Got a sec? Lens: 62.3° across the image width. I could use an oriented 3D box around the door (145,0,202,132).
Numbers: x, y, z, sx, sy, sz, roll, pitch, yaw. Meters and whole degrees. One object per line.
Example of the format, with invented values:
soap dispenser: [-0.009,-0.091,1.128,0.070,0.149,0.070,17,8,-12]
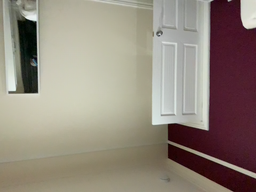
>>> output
door: [0.610,-0.590,2.800,0.790,2.050,0.120,-2,-177,-22]
